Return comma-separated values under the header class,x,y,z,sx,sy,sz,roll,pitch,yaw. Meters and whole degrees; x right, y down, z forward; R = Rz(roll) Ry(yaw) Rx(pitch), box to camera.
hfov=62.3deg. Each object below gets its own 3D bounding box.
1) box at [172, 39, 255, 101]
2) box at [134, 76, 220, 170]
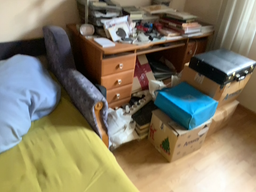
class,x,y,z,sx,sy,sz,roll,pitch,yaw
box,0.820,-0.280,1.930,0.720,0.230,0.470,-25,45,-39
box,0.380,0.200,1.760,0.410,0.510,0.440,-25,44,-38
